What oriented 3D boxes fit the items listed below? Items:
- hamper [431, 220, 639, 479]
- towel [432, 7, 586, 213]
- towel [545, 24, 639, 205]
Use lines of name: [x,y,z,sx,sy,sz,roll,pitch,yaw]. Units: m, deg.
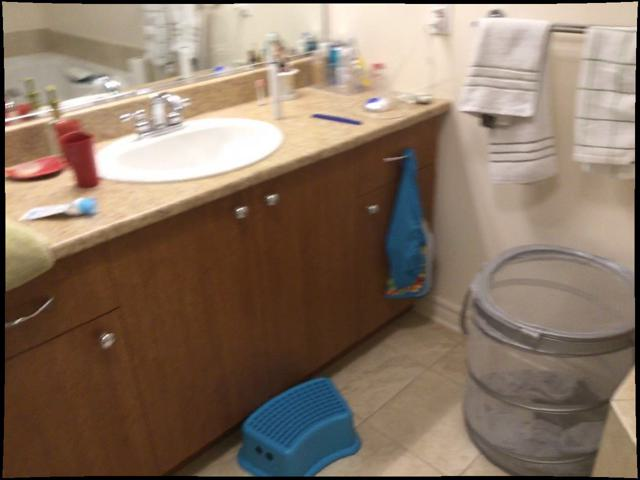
hamper: [0.659,0.320,1.620,0.490,0.490,0.490,22,40,40]
towel: [0.519,-0.380,1.660,0.190,0.500,0.340,-30,37,-36]
towel: [0.729,-0.320,1.460,0.210,0.390,0.170,22,40,40]
